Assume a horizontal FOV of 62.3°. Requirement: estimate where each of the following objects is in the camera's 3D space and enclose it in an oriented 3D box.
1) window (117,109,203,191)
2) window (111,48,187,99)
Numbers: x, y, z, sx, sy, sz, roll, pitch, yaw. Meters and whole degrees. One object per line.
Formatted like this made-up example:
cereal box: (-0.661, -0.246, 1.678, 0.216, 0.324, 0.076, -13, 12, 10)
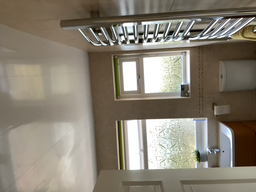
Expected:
window: (0.460, 0.860, 3.140, 0.330, 1.180, 1.270, -65, -27, -84)
window: (0.290, -0.310, 2.960, 0.210, 1.010, 0.650, -72, -20, -81)
